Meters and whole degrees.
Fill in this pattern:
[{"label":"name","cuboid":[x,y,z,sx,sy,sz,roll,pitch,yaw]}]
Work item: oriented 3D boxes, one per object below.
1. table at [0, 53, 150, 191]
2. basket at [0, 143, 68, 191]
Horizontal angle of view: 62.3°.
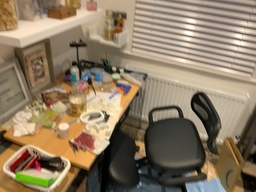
[{"label":"table","cuboid":[-0.340,0.280,1.510,0.610,0.680,1.260,15,33,13]},{"label":"basket","cuboid":[-0.360,0.280,0.820,0.220,0.080,0.110,15,33,13]}]
